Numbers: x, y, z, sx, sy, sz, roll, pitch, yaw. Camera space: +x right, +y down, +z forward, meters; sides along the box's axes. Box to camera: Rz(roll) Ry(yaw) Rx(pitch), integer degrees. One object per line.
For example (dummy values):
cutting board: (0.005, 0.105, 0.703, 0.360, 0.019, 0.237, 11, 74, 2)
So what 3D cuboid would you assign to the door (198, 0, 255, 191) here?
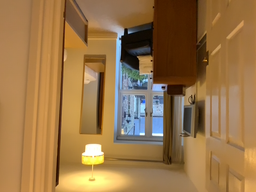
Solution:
door: (0.580, -0.290, 1.370, 0.060, 1.930, 0.800, 1, 177, 5)

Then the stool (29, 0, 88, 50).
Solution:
stool: (-0.890, -0.990, 2.930, 0.390, 0.420, 1.050, 1, 177, 3)

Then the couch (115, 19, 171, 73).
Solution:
couch: (0.270, -0.810, 3.690, 0.730, 0.680, 0.640, -1, 175, 34)
